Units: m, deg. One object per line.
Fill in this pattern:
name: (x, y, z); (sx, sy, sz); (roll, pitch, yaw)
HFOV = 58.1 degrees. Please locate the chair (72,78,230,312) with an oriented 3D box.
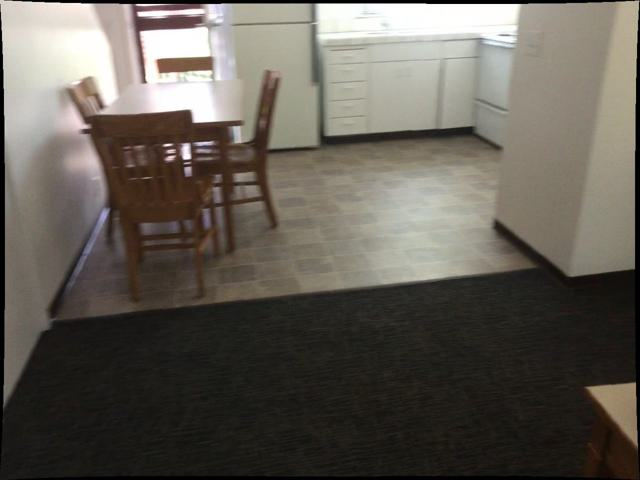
chair: (-0.759, -0.250, 2.800); (0.529, 0.891, 0.710); (-6, 26, -8)

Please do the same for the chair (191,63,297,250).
chair: (-0.429, -0.491, 3.300); (0.479, 0.901, 0.540); (-6, 26, -8)

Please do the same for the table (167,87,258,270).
table: (-0.579, -0.371, 3.180); (0.359, 0.761, 0.770); (-6, 26, -8)
